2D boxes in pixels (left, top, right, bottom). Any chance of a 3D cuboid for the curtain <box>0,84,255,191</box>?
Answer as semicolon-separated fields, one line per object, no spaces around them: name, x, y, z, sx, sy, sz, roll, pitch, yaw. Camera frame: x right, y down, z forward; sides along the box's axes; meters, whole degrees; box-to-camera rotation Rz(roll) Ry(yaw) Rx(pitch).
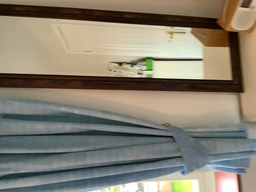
curtain;0.000;0.220;0.950;0.110;1.420;0.480;132;139;-74
